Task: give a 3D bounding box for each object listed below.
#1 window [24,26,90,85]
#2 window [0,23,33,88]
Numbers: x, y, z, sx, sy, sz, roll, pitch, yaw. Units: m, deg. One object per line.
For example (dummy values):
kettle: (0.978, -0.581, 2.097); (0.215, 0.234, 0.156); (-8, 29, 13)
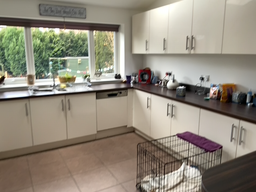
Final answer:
window: (-1.260, -0.730, 3.890); (1.070, 0.970, 0.250); (-4, 13, -21)
window: (-1.960, -0.680, 3.590); (0.550, 1.030, 0.230); (-6, 14, -27)
